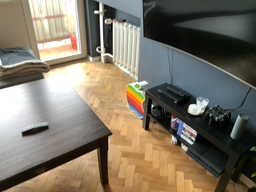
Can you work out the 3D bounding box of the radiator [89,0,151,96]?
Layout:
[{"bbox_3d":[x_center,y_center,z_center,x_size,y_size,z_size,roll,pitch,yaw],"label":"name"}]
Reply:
[{"bbox_3d":[-0.170,-0.700,2.840,0.170,0.970,1.130,-19,40,-29],"label":"radiator"}]

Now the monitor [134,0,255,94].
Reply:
[{"bbox_3d":[0.470,-0.560,1.490,0.090,0.640,1.110,-16,38,-36],"label":"monitor"}]
